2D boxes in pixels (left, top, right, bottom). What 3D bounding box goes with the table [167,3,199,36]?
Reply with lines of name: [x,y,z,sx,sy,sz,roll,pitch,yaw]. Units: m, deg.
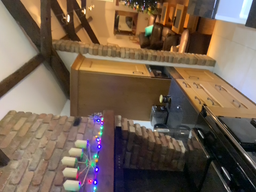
table: [1.280,-1.840,5.070,0.610,0.460,0.620,-97,14,-62]

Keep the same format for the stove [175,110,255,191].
stove: [0.640,0.660,1.590,0.960,0.160,0.730,-98,15,-65]

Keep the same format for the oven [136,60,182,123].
oven: [0.430,-0.090,3.240,0.690,0.450,0.700,-98,15,-65]
